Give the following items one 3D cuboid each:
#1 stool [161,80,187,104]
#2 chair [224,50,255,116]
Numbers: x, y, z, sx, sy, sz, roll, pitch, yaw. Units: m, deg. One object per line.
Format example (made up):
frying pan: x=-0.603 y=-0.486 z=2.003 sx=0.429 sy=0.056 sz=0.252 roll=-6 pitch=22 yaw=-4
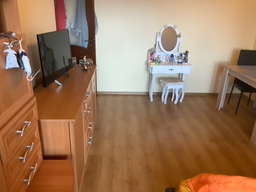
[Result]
stool: x=0.840 y=-0.080 z=3.920 sx=0.370 sy=0.350 sz=0.330 roll=1 pitch=22 yaw=-2
chair: x=2.060 y=-0.230 z=3.560 sx=0.450 sy=0.990 sz=0.550 roll=0 pitch=22 yaw=-5
